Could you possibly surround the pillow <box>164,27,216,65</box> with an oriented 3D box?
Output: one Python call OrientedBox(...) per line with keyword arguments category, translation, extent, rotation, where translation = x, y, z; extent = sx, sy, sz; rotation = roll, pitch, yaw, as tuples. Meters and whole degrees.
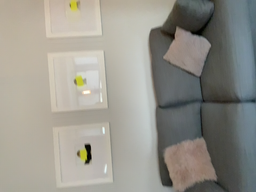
OrientedBox(category="pillow", translation=(0.620, -0.470, 2.100), extent=(0.350, 0.420, 0.120), rotation=(-36, 70, 33))
